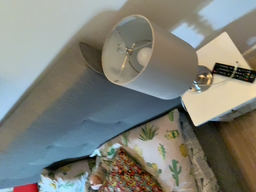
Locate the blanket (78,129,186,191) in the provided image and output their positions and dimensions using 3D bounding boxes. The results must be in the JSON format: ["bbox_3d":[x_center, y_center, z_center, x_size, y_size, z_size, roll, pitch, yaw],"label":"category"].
[{"bbox_3d":[0.020,0.570,1.180,0.580,0.170,0.580,-34,63,32],"label":"blanket"}]
